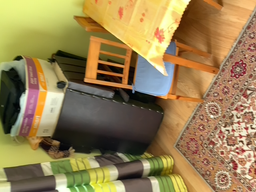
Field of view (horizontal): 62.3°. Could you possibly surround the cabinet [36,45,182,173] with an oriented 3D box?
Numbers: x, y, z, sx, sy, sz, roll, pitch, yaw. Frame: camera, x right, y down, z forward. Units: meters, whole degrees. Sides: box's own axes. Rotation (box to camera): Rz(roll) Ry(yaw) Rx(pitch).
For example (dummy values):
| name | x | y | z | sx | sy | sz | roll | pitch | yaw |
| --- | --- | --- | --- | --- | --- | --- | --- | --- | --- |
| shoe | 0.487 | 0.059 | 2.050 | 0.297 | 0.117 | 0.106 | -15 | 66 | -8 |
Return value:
| name | x | y | z | sx | sy | sz | roll | pitch | yaw |
| --- | --- | --- | --- | --- | --- | --- | --- | --- | --- |
| cabinet | -0.260 | 0.080 | 2.100 | 1.030 | 0.970 | 0.630 | 49 | 124 | 46 |
